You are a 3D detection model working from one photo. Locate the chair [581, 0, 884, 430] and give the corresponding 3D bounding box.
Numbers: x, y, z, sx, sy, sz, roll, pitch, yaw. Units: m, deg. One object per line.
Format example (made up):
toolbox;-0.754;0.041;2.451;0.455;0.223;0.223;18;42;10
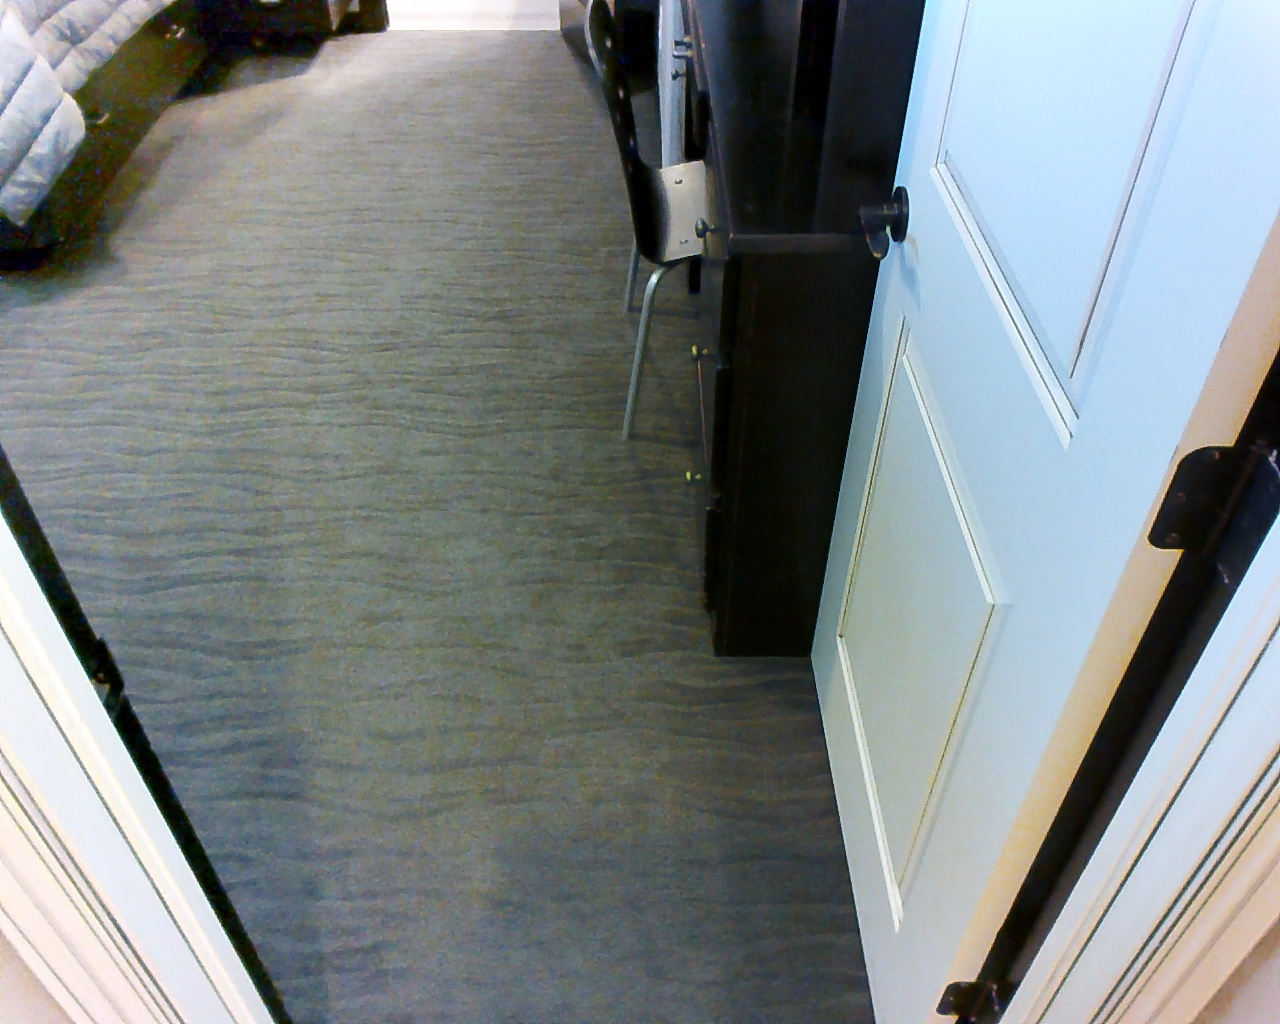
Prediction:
chair;0.160;-0.700;2.380;0.530;0.830;0.610;0;42;0
